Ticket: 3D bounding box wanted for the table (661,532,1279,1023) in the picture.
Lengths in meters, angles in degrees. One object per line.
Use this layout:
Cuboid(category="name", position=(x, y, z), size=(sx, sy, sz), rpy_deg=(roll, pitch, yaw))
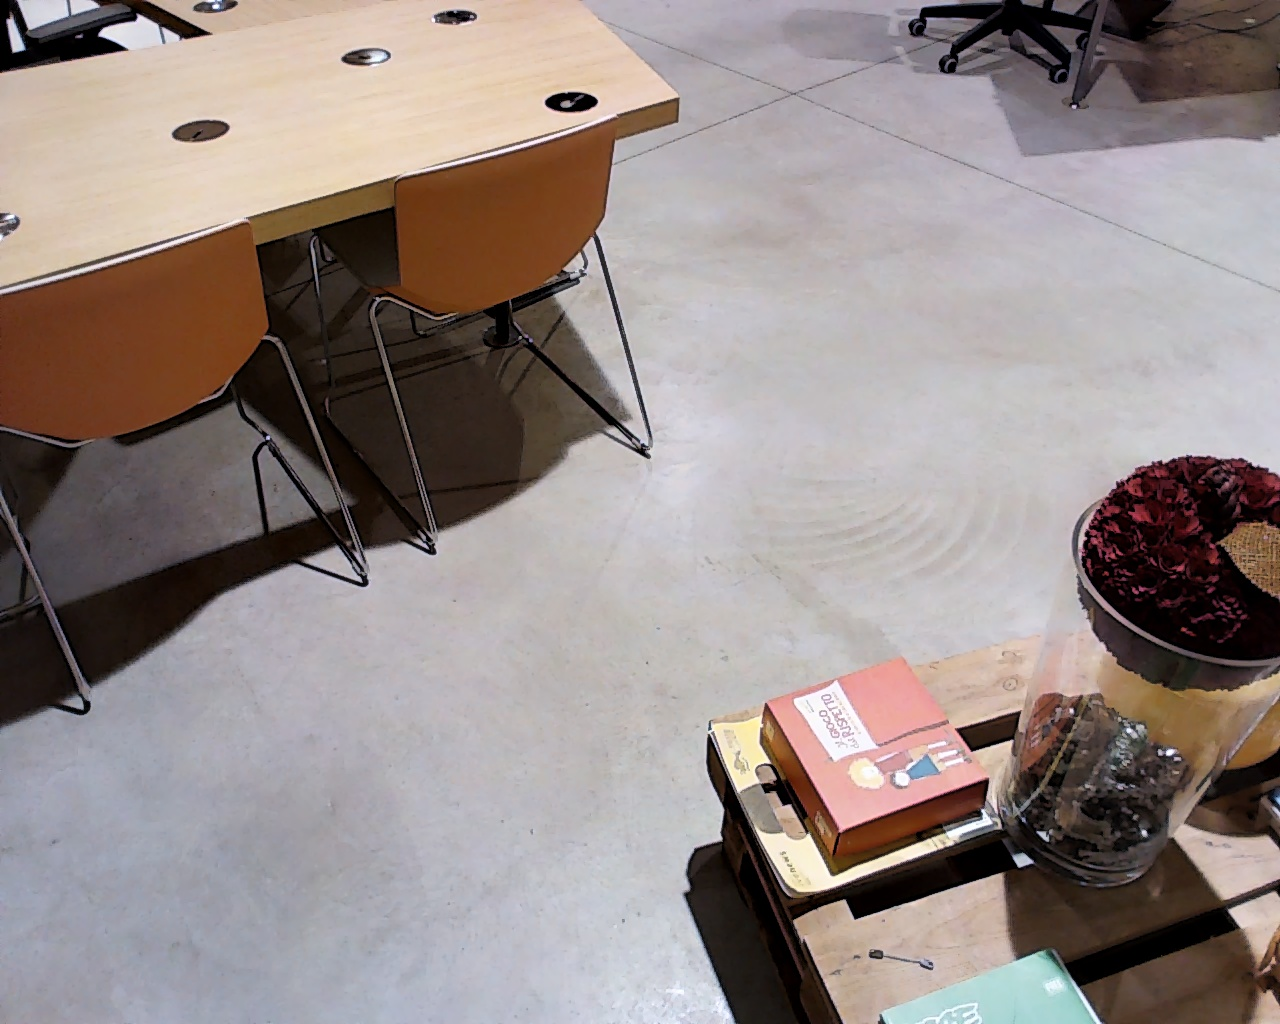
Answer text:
Cuboid(category="table", position=(0.740, 0.510, 1.440), size=(1.210, 0.310, 0.810), rpy_deg=(-14, 44, -15))
